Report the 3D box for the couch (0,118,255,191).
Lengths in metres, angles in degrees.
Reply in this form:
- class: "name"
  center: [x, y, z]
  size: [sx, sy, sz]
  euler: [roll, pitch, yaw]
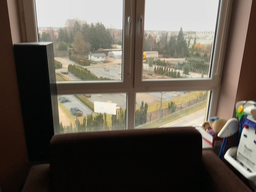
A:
- class: "couch"
  center: [0.060, 0.740, 1.380]
  size: [1.470, 0.850, 0.820]
  euler: [-2, 18, -11]
